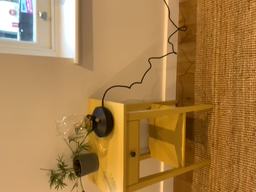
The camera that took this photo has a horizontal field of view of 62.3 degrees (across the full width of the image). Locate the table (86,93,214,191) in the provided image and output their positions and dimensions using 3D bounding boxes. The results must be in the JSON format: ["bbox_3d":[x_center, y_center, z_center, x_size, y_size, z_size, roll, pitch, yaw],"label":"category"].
[{"bbox_3d":[0.150,0.220,1.260,0.340,0.700,0.440,5,96,53],"label":"table"}]

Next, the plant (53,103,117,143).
[{"bbox_3d":[-0.190,0.110,0.950,0.130,0.250,0.130,6,96,53],"label":"plant"}]

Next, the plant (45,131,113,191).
[{"bbox_3d":[-0.240,0.340,1.020,0.250,0.240,0.270,6,96,53],"label":"plant"}]
